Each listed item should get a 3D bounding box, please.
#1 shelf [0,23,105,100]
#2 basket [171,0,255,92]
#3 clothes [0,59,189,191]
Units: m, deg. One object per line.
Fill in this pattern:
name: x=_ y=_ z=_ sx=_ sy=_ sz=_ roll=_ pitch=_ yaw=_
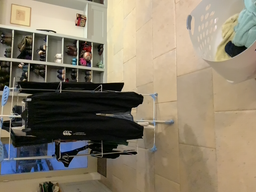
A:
shelf: x=-1.550 y=-0.610 z=4.220 sx=0.330 sy=2.190 sz=1.300 roll=165 pitch=105 yaw=-64
basket: x=0.690 y=-0.390 z=1.350 sx=0.480 sy=0.540 sz=0.560 roll=136 pitch=131 yaw=-56
clothes: x=-0.370 y=0.290 z=2.320 sx=0.890 sy=1.840 sz=1.040 roll=177 pitch=95 yaw=-65
